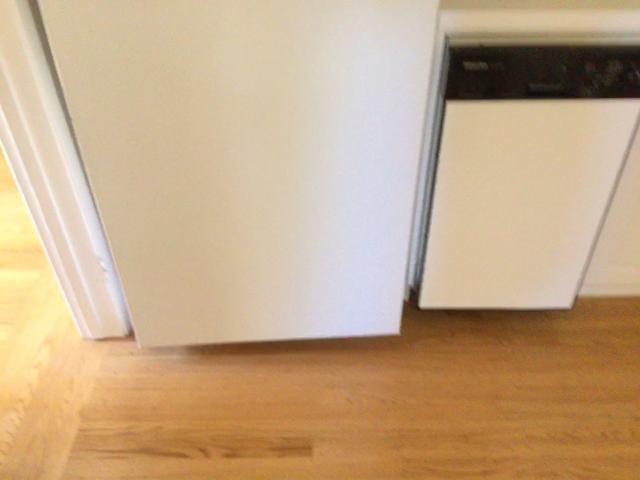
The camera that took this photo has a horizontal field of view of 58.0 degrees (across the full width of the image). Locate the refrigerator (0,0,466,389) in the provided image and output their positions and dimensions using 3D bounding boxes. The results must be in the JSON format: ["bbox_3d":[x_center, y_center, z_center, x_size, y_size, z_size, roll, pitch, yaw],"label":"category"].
[{"bbox_3d":[-0.160,-0.400,1.240,0.860,1.670,0.460,-1,38,7],"label":"refrigerator"}]
